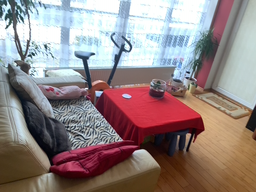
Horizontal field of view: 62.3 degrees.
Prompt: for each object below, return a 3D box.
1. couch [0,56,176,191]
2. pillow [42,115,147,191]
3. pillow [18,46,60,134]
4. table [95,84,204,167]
[{"bbox_3d":[-0.570,0.280,1.660,0.960,0.750,1.490,-5,29,-31],"label":"couch"},{"bbox_3d":[-0.210,0.340,1.290,0.510,0.230,0.350,-7,31,-34],"label":"pillow"},{"bbox_3d":[-0.750,-0.040,1.730,0.160,0.480,0.540,-9,67,-34],"label":"pillow"},{"bbox_3d":[0.200,0.250,2.410,0.840,0.440,0.820,-5,29,-31],"label":"table"}]
